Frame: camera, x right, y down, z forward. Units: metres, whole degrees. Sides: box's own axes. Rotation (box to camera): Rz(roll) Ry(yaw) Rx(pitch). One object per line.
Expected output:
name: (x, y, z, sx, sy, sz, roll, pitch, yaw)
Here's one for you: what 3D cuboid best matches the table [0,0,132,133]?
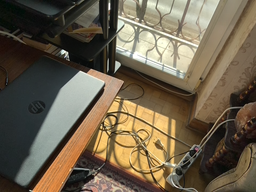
table: (-0.390, -0.300, 1.170, 0.590, 0.650, 0.570, 24, 52, 10)
